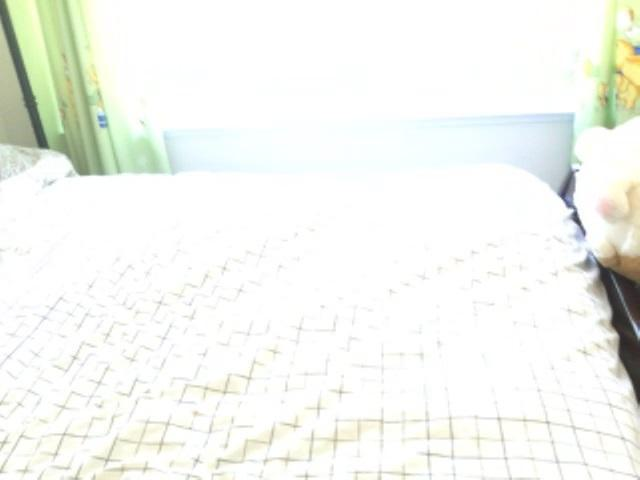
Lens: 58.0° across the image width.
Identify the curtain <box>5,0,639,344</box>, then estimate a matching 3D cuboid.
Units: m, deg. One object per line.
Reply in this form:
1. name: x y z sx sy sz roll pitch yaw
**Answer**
1. curtain: 0.170 -0.670 1.960 2.550 2.140 0.310 1 27 16
